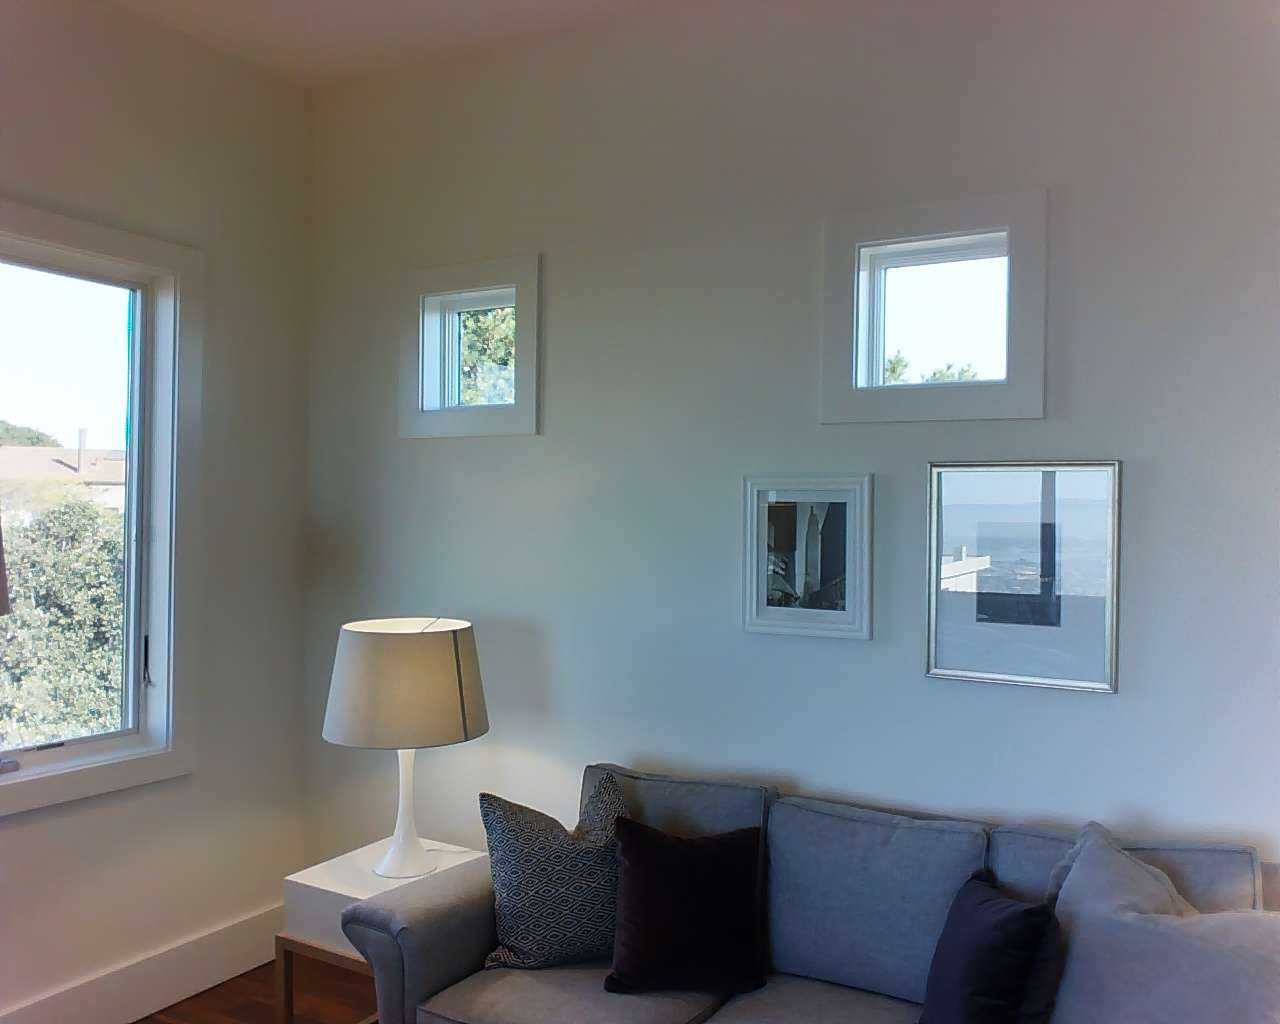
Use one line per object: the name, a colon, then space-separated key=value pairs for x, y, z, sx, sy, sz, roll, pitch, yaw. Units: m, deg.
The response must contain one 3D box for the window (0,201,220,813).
window: x=-1.680 y=-0.010 z=3.170 sx=0.260 sy=1.630 sz=0.820 roll=0 pitch=0 yaw=30
